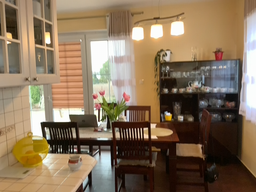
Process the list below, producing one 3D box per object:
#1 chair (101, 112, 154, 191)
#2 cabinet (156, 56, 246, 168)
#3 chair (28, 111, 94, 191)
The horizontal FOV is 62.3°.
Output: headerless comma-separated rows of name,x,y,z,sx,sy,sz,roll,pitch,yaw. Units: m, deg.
chair,0.030,0.740,2.610,0.560,1.010,0.530,0,6,8
cabinet,1.150,0.240,3.570,1.310,1.730,0.480,0,6,9
chair,-0.820,0.740,2.730,0.580,1.010,0.540,0,6,8
